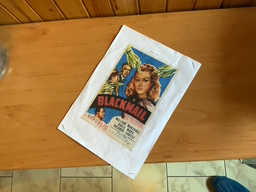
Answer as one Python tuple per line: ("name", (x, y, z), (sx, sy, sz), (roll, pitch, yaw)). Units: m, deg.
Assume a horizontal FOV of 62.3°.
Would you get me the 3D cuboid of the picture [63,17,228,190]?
("picture", (0.030, -0.010, 0.480), (0.260, 0.320, 0.030), (23, -8, 25))
